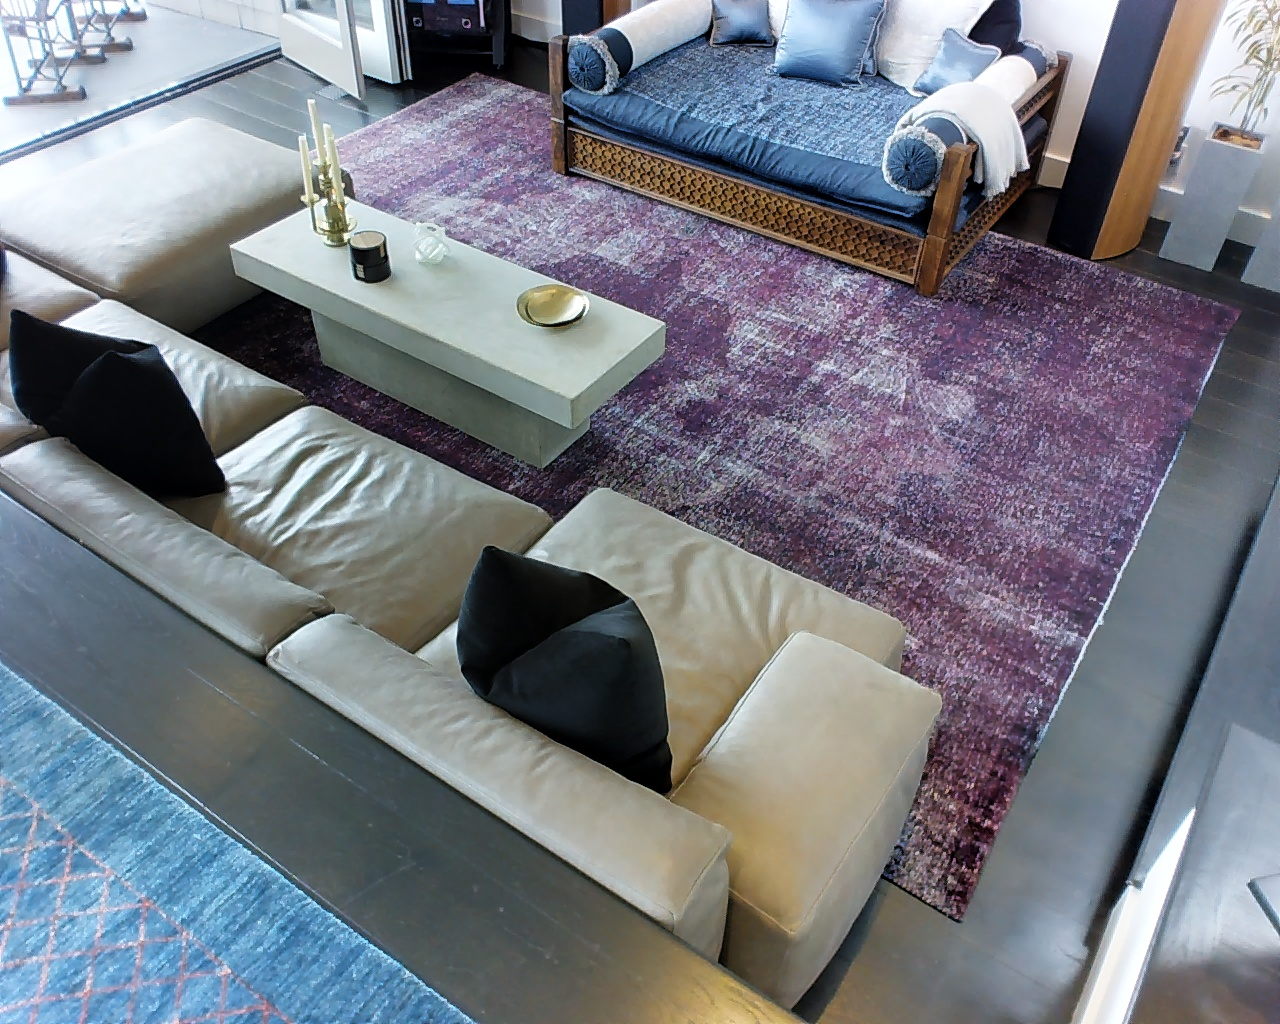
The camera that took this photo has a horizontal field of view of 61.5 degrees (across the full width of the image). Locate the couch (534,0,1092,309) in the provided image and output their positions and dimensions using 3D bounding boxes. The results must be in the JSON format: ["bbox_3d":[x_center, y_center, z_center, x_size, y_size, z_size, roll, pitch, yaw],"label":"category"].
[{"bbox_3d":[0.700,-1.840,4.610,1.860,0.900,1.320,26,47,24],"label":"couch"}]

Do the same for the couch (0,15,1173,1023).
[{"bbox_3d":[-0.830,-0.380,3.100,3.850,0.710,2.130,25,47,23],"label":"couch"}]
